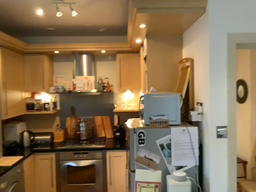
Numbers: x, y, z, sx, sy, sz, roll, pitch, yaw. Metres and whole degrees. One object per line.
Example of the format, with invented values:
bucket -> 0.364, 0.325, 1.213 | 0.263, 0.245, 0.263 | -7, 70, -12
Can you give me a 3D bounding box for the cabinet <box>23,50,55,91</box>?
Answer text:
cabinet -> -1.380, -0.390, 3.320 | 0.370, 0.600, 0.280 | -1, 3, -3
